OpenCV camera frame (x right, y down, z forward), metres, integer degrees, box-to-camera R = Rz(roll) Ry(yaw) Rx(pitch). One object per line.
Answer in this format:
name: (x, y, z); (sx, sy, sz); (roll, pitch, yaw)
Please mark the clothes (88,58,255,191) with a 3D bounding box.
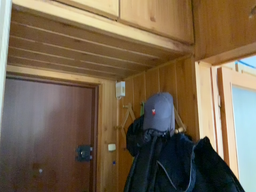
clothes: (0.140, 0.610, 1.070); (0.300, 1.370, 0.880); (7, -11, -37)
